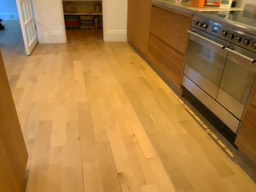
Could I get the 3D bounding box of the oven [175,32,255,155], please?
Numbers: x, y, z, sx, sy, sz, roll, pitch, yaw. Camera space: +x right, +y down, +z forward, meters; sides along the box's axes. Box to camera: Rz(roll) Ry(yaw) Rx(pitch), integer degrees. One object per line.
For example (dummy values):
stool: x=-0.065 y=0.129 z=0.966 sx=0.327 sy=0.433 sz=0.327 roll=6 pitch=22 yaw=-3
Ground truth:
oven: x=0.970 y=-0.100 z=1.920 sx=0.660 sy=0.720 sz=0.900 roll=-5 pitch=31 yaw=-13

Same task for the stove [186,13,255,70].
stove: x=0.990 y=-0.490 z=1.700 sx=0.660 sy=0.190 sz=0.900 roll=-5 pitch=31 yaw=-13

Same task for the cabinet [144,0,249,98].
cabinet: x=0.730 y=-0.670 z=2.720 sx=0.660 sy=0.910 sz=1.110 roll=-5 pitch=31 yaw=-13
